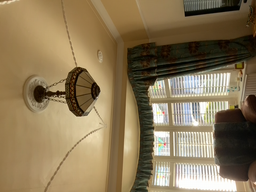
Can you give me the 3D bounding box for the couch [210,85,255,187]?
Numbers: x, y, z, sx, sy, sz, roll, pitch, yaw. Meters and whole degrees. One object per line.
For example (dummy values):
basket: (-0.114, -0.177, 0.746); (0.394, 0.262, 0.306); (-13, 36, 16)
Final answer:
couch: (1.700, 0.560, 2.840); (1.020, 0.960, 1.150); (47, -137, -66)
